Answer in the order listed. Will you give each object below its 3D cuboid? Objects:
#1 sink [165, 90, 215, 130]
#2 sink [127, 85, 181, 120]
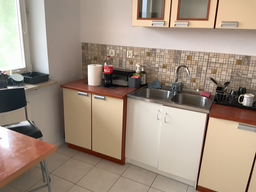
[{"bbox_3d":[0.650,0.120,2.180,0.370,0.190,0.490,12,20,26],"label":"sink"},{"bbox_3d":[0.300,0.050,2.350,0.430,0.190,0.490,12,20,26],"label":"sink"}]
